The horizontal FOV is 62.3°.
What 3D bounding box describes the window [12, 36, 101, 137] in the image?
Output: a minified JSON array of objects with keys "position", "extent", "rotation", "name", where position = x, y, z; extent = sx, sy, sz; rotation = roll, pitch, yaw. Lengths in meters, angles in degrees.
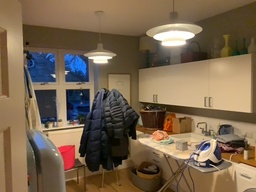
[{"position":[-1.300,-0.170,3.990],"extent":[1.460,1.620,0.480],"rotation":[-2,3,-32],"name":"window"}]
